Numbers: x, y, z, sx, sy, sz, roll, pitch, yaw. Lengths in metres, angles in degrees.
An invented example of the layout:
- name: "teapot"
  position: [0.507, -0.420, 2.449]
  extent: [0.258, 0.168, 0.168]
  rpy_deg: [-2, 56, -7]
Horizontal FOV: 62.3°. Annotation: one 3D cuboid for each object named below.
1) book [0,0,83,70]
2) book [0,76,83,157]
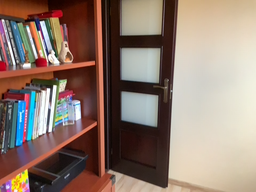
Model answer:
- name: "book"
  position: [-0.570, -0.280, 0.920]
  extent: [0.250, 0.300, 0.890]
  rpy_deg: [7, 14, 23]
- name: "book"
  position: [-0.510, 0.070, 1.200]
  extent: [0.240, 0.300, 0.490]
  rpy_deg: [7, 15, 25]
